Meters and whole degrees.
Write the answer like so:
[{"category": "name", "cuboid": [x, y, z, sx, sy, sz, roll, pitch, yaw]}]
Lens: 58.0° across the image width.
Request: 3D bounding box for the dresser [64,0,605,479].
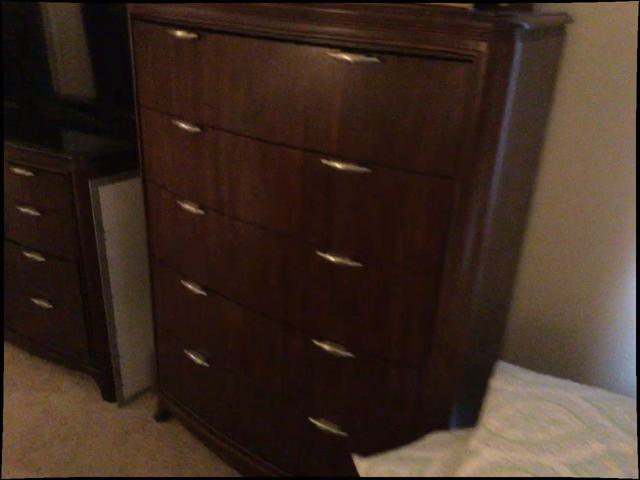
[{"category": "dresser", "cuboid": [-0.020, -0.010, 1.730, 1.208, 1.583, 0.620, 18, 31, 30]}]
